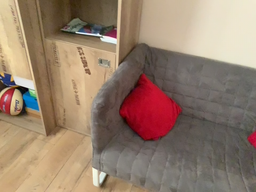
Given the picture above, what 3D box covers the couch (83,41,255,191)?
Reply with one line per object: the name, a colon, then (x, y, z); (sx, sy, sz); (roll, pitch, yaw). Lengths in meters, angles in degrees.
couch: (0.490, 0.260, 1.240); (1.210, 0.690, 0.800); (15, 37, 13)
